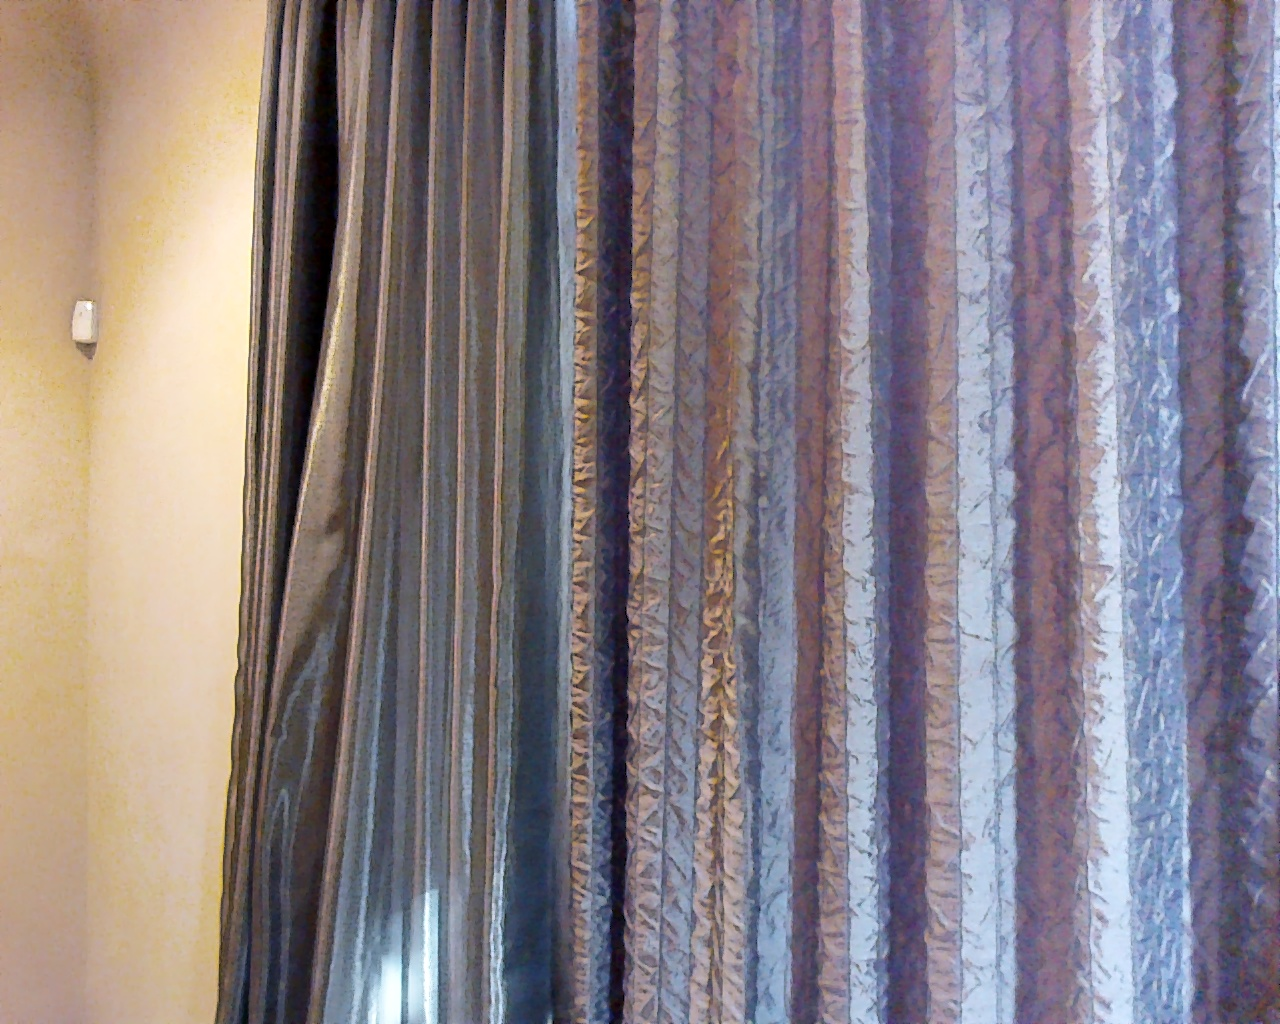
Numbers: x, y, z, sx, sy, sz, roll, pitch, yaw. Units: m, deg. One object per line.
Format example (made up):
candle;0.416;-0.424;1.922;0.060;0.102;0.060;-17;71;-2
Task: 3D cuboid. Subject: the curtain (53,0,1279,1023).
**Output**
curtain;-0.130;0.180;1.390;2.290;2.800;0.400;1;0;44
